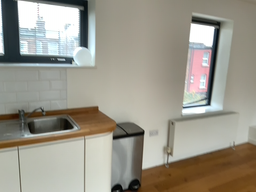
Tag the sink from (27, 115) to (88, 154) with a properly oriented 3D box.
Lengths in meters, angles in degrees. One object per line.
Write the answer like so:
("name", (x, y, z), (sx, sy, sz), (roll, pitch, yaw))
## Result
("sink", (-0.660, 0.330, 1.960), (0.460, 0.160, 0.430), (-3, 13, -29))
